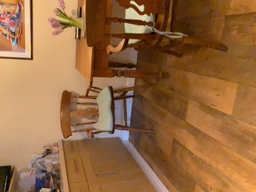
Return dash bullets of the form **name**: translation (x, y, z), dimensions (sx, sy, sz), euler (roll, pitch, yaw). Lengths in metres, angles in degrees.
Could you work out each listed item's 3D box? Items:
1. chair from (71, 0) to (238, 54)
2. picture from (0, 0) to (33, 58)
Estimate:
- **chair**: translation (0.120, -0.620, 1.390), dimensions (0.660, 0.880, 0.550), euler (-141, 54, -64)
- **picture**: translation (-1.250, -0.730, 2.050), dimensions (0.030, 0.590, 0.670), euler (-146, 58, -65)
